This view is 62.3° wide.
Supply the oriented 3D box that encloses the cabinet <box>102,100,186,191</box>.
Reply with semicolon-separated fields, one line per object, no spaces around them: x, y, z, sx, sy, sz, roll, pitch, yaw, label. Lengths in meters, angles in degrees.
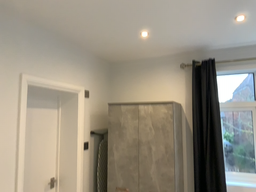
0.200;1.010;2.430;0.820;1.870;0.540;-3;-6;23;cabinet
